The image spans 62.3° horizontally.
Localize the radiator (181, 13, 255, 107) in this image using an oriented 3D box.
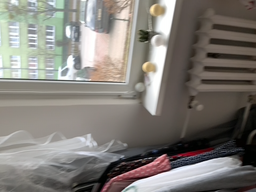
[{"bbox_3d":[0.760,-0.220,1.460,0.240,0.690,0.540,-150,62,-67],"label":"radiator"}]
